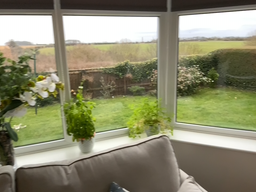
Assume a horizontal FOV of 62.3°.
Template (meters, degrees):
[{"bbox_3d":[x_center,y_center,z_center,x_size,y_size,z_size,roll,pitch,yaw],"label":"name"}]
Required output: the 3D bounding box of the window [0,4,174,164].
[{"bbox_3d":[-0.810,-0.050,1.360,2.430,0.990,0.120,-6,15,-19],"label":"window"}]
